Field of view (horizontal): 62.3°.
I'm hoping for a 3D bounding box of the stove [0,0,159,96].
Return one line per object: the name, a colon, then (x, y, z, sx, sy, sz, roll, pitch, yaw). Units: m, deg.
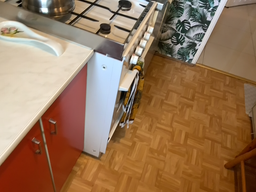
stove: (-0.240, -0.370, 1.010, 0.640, 0.230, 0.550, 21, 47, 6)
